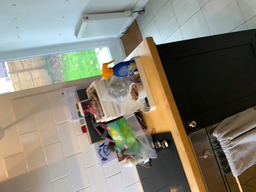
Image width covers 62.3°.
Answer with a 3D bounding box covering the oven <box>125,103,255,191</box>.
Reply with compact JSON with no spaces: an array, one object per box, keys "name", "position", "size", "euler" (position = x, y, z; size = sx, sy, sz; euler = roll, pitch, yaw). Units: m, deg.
[{"name":"oven","position":[0.480,0.450,1.270],"size":[0.610,0.660,0.600],"euler":[-31,76,63]}]
